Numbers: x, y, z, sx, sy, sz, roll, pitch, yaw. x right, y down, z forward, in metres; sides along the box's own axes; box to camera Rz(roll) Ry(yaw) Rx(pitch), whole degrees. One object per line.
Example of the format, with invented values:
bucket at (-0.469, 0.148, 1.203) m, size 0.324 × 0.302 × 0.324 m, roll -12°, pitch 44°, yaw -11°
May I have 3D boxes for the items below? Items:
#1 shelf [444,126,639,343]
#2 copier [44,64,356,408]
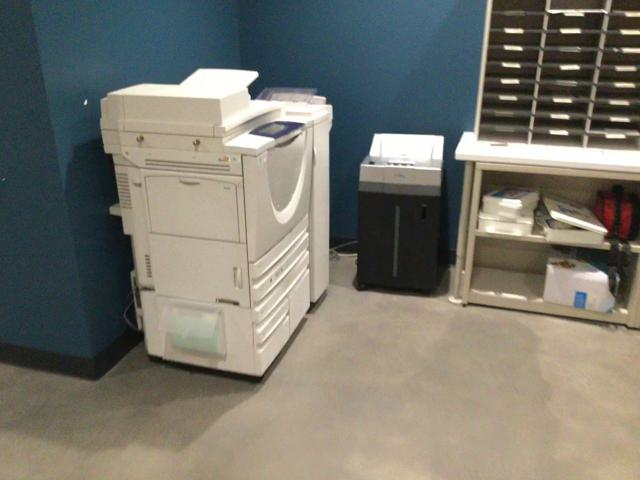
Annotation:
shelf at (1.420, -0.030, 2.510) m, size 1.630 × 0.780 × 0.550 m, roll 6°, pitch 22°, yaw 18°
copier at (-0.350, -0.160, 2.520) m, size 0.700 × 1.080 × 1.270 m, roll 6°, pitch 22°, yaw 18°
